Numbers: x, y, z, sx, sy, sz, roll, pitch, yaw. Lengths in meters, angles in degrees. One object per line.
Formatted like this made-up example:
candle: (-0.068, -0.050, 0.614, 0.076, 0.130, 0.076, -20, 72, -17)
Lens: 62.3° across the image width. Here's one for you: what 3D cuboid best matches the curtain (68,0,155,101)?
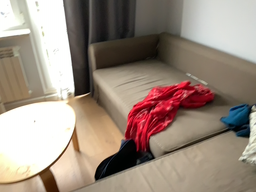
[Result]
curtain: (-0.160, -1.180, 2.220, 0.940, 2.510, 0.190, -15, 32, -21)
